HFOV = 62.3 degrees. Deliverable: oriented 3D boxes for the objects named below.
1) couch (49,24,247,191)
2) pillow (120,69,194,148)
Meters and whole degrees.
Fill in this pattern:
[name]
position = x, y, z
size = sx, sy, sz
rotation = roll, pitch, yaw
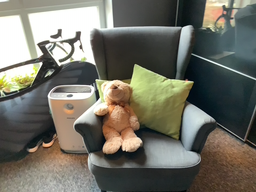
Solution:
[couch]
position = 0.080, 0.100, 1.530
size = 0.820, 0.980, 0.930
rotation = -2, 31, -1
[pillow]
position = 0.210, 0.060, 1.520
size = 0.410, 0.430, 0.290
rotation = 12, 15, 18
